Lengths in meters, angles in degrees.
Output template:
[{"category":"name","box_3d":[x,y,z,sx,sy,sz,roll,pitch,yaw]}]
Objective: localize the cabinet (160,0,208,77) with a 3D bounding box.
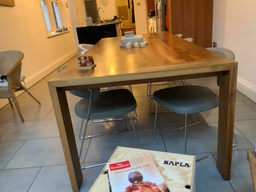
[{"category":"cabinet","box_3d":[0.900,-1.440,3.480,0.670,2.160,0.410,-5,21,3]}]
